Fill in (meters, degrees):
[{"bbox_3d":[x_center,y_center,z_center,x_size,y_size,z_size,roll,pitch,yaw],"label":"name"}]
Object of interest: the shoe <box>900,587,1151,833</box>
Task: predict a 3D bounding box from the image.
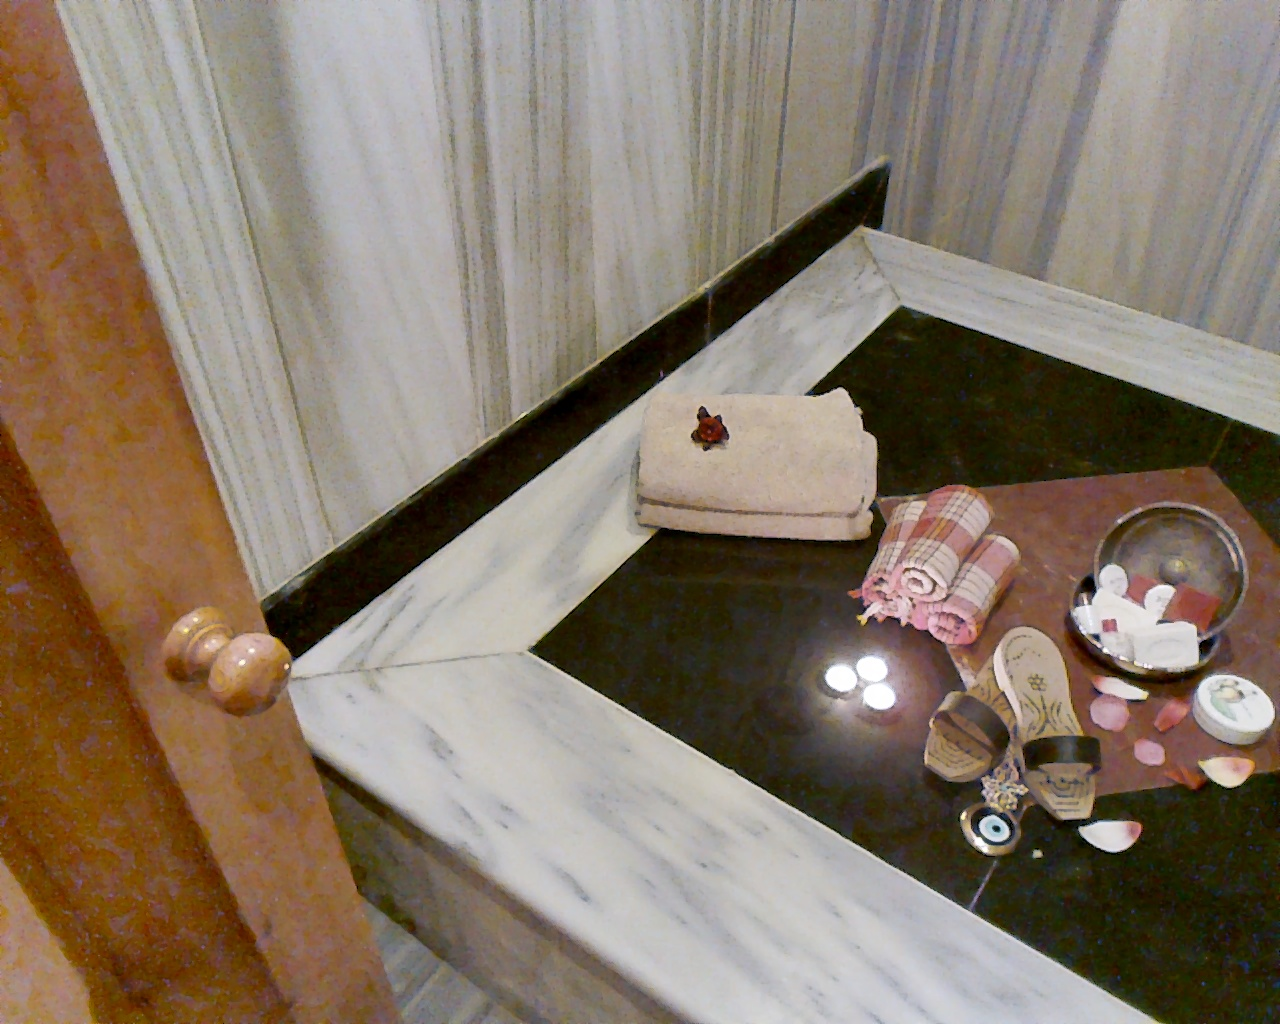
[{"bbox_3d":[0.490,0.250,1.420,0.240,0.090,0.320,2,42,3],"label":"shoe"}]
